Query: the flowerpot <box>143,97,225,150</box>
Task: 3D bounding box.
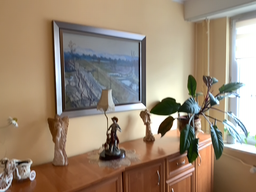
[{"bbox_3d":[0.570,0.220,2.090,0.790,0.350,0.390,-5,7,-39],"label":"flowerpot"}]
